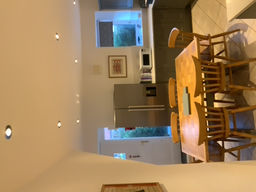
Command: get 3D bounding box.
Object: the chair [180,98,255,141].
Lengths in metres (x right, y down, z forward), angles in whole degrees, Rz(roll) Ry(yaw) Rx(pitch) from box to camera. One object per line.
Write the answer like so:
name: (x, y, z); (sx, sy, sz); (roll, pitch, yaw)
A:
chair: (1.160, 0.290, 2.670); (0.550, 0.820, 0.440); (116, 151, -83)

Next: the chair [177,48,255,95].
chair: (1.130, -0.290, 2.710); (0.560, 0.820, 0.490); (161, 106, -86)

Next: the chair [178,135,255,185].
chair: (1.170, 0.820, 2.840); (0.540, 0.850, 0.440); (-147, 55, -86)

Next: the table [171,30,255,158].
table: (1.170, 0.000, 3.040); (0.940, 0.750, 1.530); (116, 151, -83)
